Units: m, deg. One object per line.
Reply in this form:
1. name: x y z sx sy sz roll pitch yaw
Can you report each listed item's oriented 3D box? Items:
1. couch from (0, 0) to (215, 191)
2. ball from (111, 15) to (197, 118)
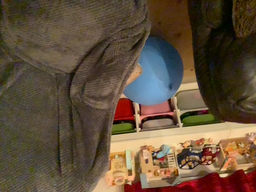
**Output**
1. couch: -0.360 -0.170 0.940 0.820 1.050 0.760 15 137 -24
2. ball: 0.140 -0.190 1.450 0.450 0.470 0.470 -5 143 1
